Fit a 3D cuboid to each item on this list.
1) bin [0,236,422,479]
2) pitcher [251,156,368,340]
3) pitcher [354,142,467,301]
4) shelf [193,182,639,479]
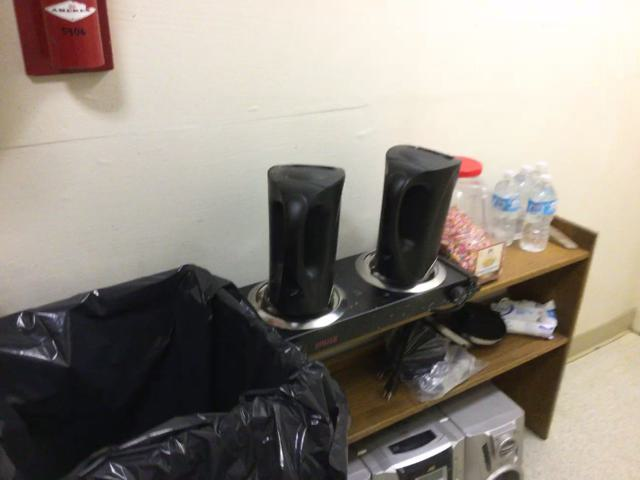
[{"bbox_3d":[-0.230,0.520,0.990,0.500,0.830,0.540,-14,29,-28],"label":"bin"},{"bbox_3d":[-0.020,0.010,1.020,0.150,0.270,0.130,-14,29,-28],"label":"pitcher"},{"bbox_3d":[0.170,-0.040,1.130,0.160,0.260,0.120,-14,29,-28],"label":"pitcher"},{"bbox_3d":[0.280,0.360,1.430,1.040,0.770,0.360,-14,29,-28],"label":"shelf"}]
